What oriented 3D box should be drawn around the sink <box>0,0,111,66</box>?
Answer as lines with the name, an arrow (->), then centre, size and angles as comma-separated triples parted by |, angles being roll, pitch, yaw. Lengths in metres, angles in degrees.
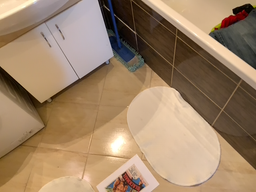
sink -> -0.450, -0.470, 0.930 | 0.670, 0.180, 0.450 | -36, 64, -11

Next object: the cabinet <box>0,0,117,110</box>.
cabinet -> -0.450, -0.340, 1.290 | 0.600, 0.700, 0.310 | -36, 64, -11
